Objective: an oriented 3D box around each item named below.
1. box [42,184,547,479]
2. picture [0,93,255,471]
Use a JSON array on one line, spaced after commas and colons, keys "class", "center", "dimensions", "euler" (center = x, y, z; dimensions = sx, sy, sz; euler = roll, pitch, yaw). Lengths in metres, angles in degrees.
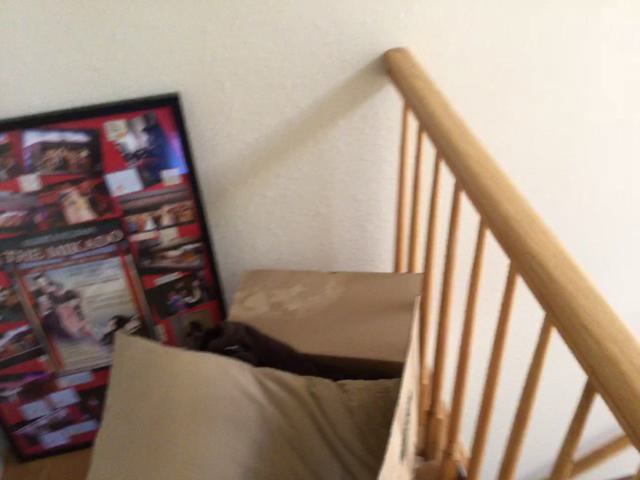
[{"class": "box", "center": [-0.070, 0.450, 1.220], "dimensions": [0.710, 0.660, 0.970], "euler": [-6, 38, -6]}, {"class": "picture", "center": [-0.570, 0.160, 1.410], "dimensions": [0.730, 0.950, 0.150], "euler": [-9, 39, -10]}]
